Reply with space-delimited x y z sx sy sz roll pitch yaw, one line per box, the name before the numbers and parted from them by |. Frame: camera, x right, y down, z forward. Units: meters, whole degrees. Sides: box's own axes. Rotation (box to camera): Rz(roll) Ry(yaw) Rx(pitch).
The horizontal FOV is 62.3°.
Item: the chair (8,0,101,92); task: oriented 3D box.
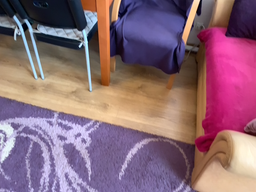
chair | -0.460 -0.470 1.540 0.380 0.760 0.420 13 52 6
